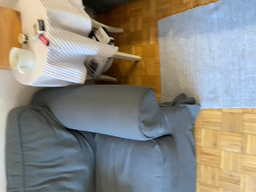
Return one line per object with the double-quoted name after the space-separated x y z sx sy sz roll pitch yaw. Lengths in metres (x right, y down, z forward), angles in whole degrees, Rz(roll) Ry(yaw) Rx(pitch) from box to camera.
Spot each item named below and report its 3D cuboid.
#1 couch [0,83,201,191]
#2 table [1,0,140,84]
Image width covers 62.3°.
-0.150 0.480 1.260 0.890 0.800 1.090 2 93 37 "couch"
-0.320 -0.310 1.380 0.450 0.740 0.450 1 93 37 "table"
